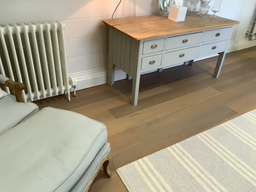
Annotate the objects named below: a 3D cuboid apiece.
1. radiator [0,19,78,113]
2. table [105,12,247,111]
[{"bbox_3d":[-0.900,-0.280,1.970,0.800,0.750,0.160,-15,37,-28],"label":"radiator"},{"bbox_3d":[0.560,-0.510,2.590,1.540,0.790,0.650,-15,37,-28],"label":"table"}]
